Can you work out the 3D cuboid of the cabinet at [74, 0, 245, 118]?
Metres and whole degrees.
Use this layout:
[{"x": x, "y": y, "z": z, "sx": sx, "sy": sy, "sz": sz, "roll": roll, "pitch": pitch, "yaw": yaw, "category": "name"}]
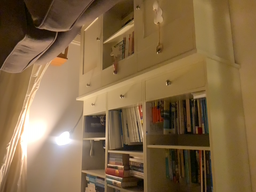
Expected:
[{"x": 0.060, "y": -0.430, "z": 1.790, "sx": 0.450, "sy": 1.100, "sz": 1.480, "roll": 8, "pitch": 167, "yaw": -35, "category": "cabinet"}]
